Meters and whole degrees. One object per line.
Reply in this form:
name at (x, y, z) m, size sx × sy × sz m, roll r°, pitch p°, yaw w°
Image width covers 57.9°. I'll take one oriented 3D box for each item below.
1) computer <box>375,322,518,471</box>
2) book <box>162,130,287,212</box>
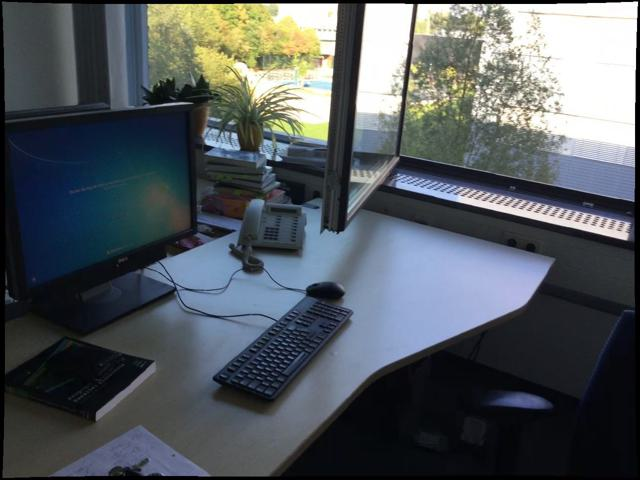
computer at (0.460, 0.561, 2.130) m, size 0.420 × 0.330 × 0.250 m, roll 15°, pitch 26°, yaw 24°
book at (-0.390, -0.300, 2.410) m, size 0.360 × 0.200 × 0.360 m, roll 15°, pitch 26°, yaw 25°
